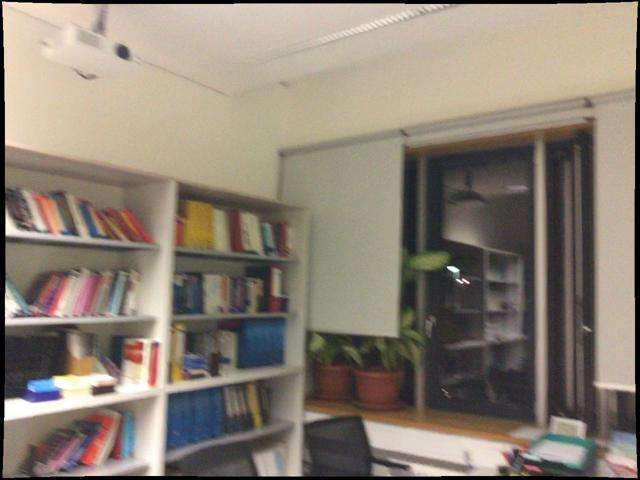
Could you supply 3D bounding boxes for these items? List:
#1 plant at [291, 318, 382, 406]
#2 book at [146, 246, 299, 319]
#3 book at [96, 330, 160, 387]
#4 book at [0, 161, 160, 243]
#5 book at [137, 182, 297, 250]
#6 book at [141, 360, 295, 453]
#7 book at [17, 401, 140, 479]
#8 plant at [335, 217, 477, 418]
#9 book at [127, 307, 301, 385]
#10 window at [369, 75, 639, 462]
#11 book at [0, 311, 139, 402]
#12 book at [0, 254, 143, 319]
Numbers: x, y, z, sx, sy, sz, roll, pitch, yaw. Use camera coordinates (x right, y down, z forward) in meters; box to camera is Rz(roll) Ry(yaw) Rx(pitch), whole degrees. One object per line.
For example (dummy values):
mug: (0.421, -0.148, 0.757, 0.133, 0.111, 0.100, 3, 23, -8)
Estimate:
plant: (0.120, 0.811, 3.970, 0.420, 0.501, 0.490, -2, -4, 37)
book: (-0.569, 0.260, 3.610, 0.330, 0.390, 0.980, -2, -4, 37)
book: (-0.989, 0.601, 2.970, 0.390, 0.240, 0.100, -2, -4, 37)
book: (-1.319, -0.160, 2.700, 0.400, 0.290, 1.080, -2, -4, 37)
book: (-0.599, -0.120, 3.620, 0.310, 0.320, 1.050, -2, -4, 37)
book: (-0.569, 0.971, 3.500, 0.230, 0.340, 1.040, -2, -4, 37)
book: (-1.169, 0.971, 2.830, 0.250, 0.240, 0.490, -2, -4, 37)
plant: (0.559, 0.470, 3.790, 0.779, 1.161, 0.480, -2, -4, 37)
book: (-0.599, 0.611, 3.530, 0.380, 0.340, 1.070, -2, -4, 37)
window: (1.948, 0.130, 2.820, 3.558, 1.812, 0.710, -2, -4, 37)
book: (-1.369, 0.521, 2.620, 0.300, 0.330, 1.060, -2, -4, 37)
book: (-1.379, 0.210, 2.670, 0.260, 0.280, 1.130, -2, -4, 37)
